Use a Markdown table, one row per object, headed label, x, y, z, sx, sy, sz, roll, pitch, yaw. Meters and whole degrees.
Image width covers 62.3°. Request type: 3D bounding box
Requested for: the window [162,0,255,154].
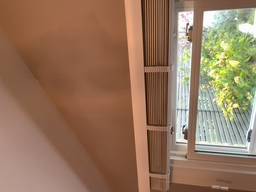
| label | x | y | z | sx | sy | sz | roll | pitch | yaw |
| --- | --- | --- | --- | --- | --- | --- | --- | --- | --- |
| window | 0.670 | -0.060 | 1.030 | 0.080 | 0.990 | 0.800 | -62 | -29 | -60 |
